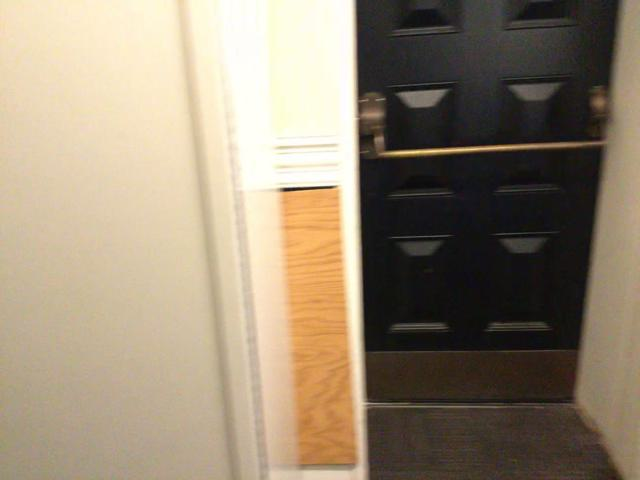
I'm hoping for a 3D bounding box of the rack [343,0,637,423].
[{"bbox_3d":[0.510,-0.070,1.890,0.800,1.460,0.160,-2,19,6],"label":"rack"}]
